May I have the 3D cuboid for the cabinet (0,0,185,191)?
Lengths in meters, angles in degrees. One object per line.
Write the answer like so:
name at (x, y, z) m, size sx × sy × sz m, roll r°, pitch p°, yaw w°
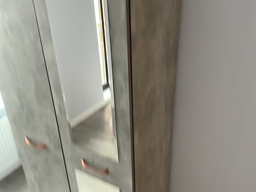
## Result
cabinet at (-0.190, 0.190, 1.260) m, size 0.800 × 1.890 × 0.580 m, roll 11°, pitch 27°, yaw 26°
